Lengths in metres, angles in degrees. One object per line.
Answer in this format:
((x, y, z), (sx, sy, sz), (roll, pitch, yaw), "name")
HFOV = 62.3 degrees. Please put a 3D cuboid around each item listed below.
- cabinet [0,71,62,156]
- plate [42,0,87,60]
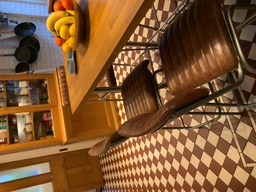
((-1.650, 0.230, 2.860), (0.350, 1.300, 1.070), (-41, 58, 57), "cabinet")
((-0.370, -0.410, 1.190), (0.280, 0.160, 0.300), (-46, 54, 55), "plate")
